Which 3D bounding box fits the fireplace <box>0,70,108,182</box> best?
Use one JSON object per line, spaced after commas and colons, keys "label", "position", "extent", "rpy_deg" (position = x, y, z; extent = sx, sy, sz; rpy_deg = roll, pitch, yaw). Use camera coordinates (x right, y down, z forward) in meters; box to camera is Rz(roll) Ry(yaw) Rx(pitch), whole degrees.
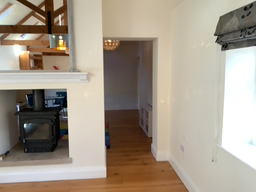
{"label": "fireplace", "position": [-1.400, 0.390, 3.530], "extent": [2.070, 1.630, 0.930], "rpy_deg": [-1, 8, -7]}
